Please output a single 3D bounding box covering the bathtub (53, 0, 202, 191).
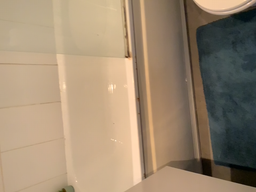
[{"bbox_3d":[-0.020,-0.150,1.380,0.730,0.540,1.630,-1,93,43],"label":"bathtub"}]
